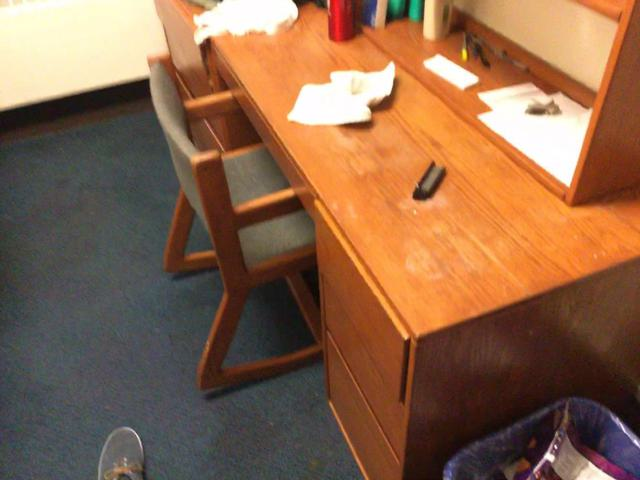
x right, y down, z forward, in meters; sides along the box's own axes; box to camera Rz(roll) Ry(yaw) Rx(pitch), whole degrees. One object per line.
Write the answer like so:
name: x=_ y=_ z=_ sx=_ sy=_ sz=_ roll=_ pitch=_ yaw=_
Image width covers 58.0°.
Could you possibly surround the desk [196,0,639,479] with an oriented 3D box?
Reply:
desk: x=0.200 y=-0.060 z=1.520 sx=0.640 sy=0.780 sz=1.240 roll=-17 pitch=44 yaw=-15
